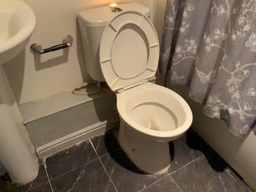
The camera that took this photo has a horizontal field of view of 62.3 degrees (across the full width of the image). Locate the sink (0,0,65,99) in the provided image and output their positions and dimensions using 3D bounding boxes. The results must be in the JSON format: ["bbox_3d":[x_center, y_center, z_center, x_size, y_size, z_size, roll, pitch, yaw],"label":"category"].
[{"bbox_3d":[-0.600,-0.160,0.750,0.590,0.200,0.440,-20,43,-24],"label":"sink"}]
